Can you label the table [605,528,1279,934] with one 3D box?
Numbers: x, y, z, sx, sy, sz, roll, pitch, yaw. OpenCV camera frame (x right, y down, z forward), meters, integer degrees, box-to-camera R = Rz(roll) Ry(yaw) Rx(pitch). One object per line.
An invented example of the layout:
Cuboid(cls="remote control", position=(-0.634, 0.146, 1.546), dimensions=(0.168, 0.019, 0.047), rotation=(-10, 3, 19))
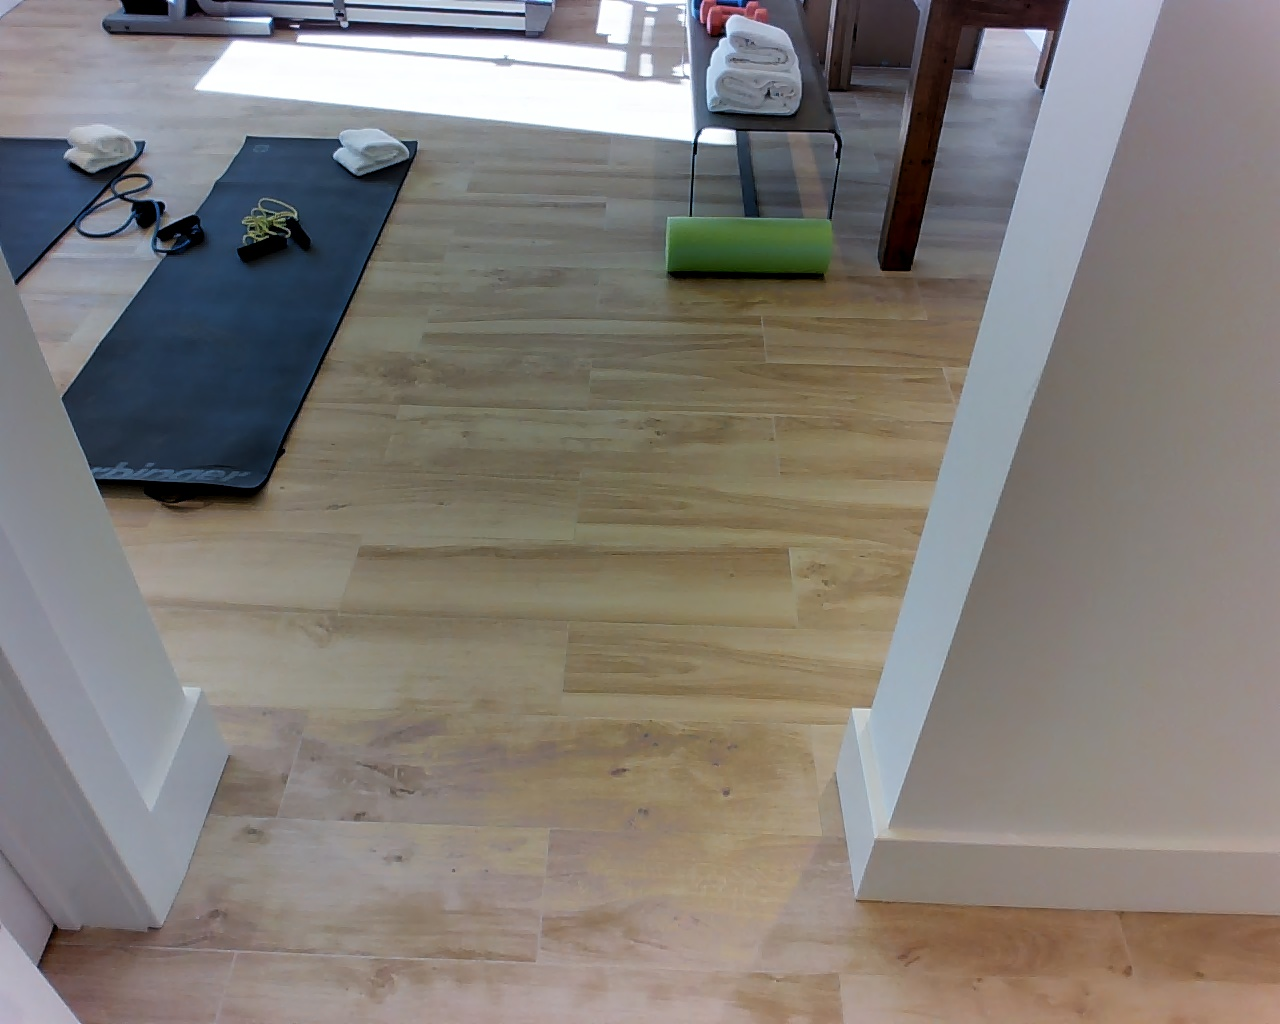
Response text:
Cuboid(cls="table", position=(0.660, 0.340, 1.680), dimensions=(1.410, 0.380, 0.460), rotation=(2, 42, 0))
